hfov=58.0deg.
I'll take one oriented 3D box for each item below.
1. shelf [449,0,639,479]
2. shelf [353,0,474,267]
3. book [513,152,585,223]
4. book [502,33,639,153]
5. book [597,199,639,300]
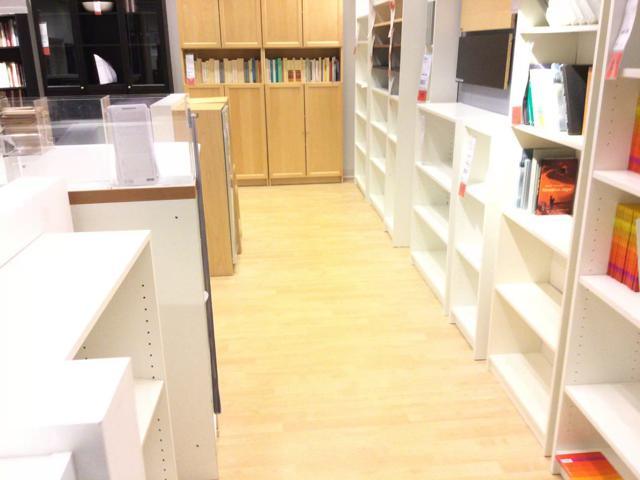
[{"bbox_3d":[0.850,-0.100,1.760,0.330,1.770,1.900,-1,19,-2],"label":"shelf"},{"bbox_3d":[0.620,-1.360,4.760,0.420,2.290,2.780,-1,19,-2],"label":"shelf"},{"bbox_3d":[0.860,-0.200,2.190,0.190,0.240,0.140,-1,19,-2],"label":"book"},{"bbox_3d":[0.830,-0.500,1.880,0.240,0.320,0.610,-1,19,-2],"label":"book"},{"bbox_3d":[0.910,0.020,1.580,0.190,0.230,0.170,-1,19,-2],"label":"book"}]
